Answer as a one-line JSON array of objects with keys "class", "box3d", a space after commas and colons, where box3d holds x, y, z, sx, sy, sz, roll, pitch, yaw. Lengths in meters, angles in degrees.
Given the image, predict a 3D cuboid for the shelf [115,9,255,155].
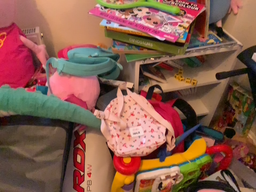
[{"class": "shelf", "box3d": [0.250, -0.060, 1.280, 0.560, 0.730, 0.370, -10, 45, -11]}]
